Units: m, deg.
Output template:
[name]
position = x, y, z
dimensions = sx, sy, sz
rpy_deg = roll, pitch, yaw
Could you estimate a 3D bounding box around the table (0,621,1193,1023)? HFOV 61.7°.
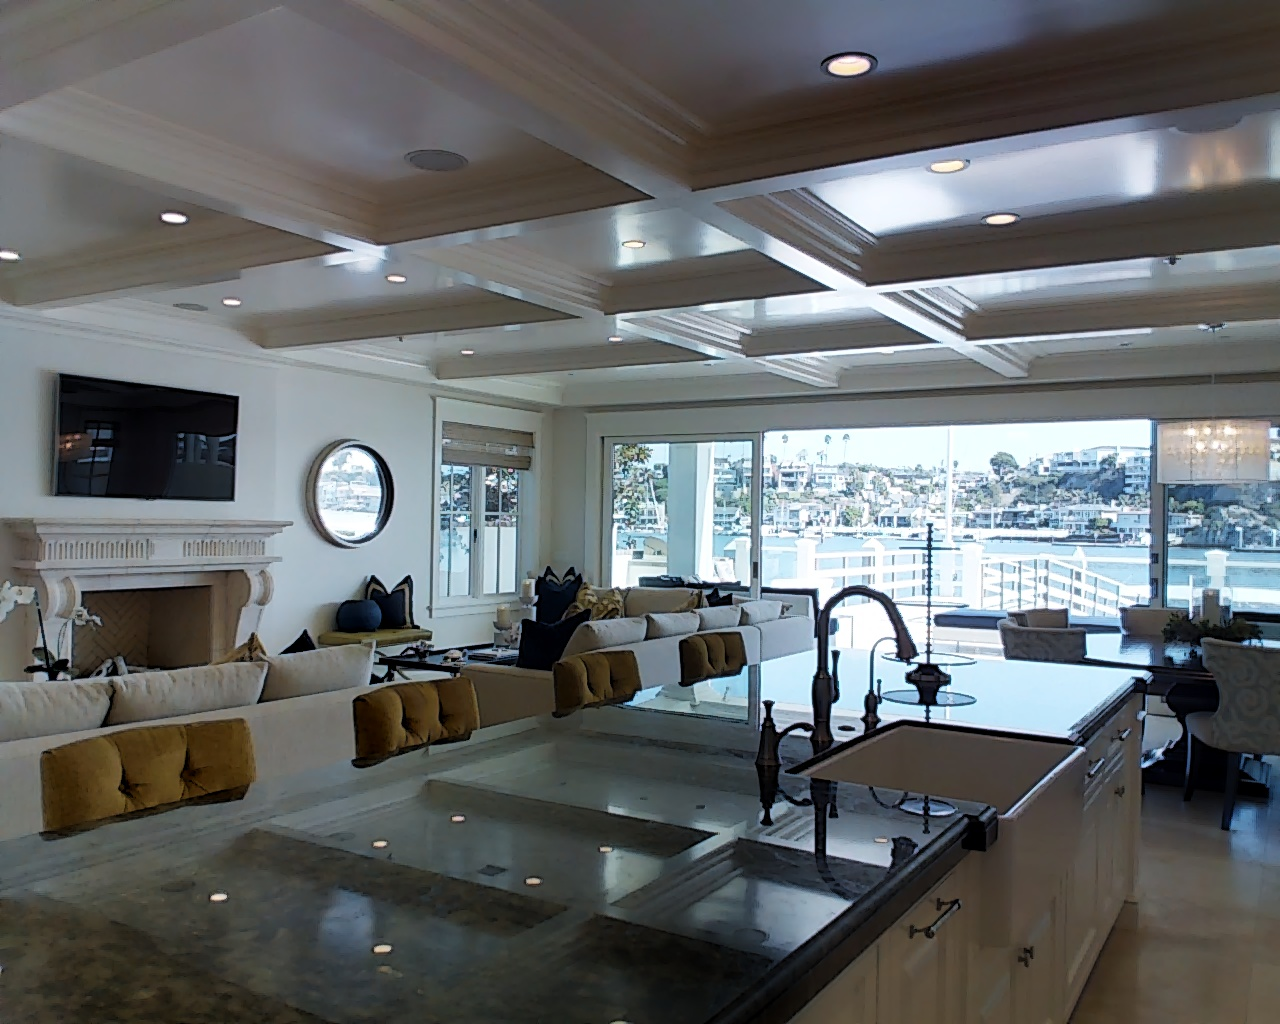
[table]
position = 0.410, 1.000, 2.780
dimensions = 1.430, 1.060, 4.249
rpy_deg = 1, -1, 33
